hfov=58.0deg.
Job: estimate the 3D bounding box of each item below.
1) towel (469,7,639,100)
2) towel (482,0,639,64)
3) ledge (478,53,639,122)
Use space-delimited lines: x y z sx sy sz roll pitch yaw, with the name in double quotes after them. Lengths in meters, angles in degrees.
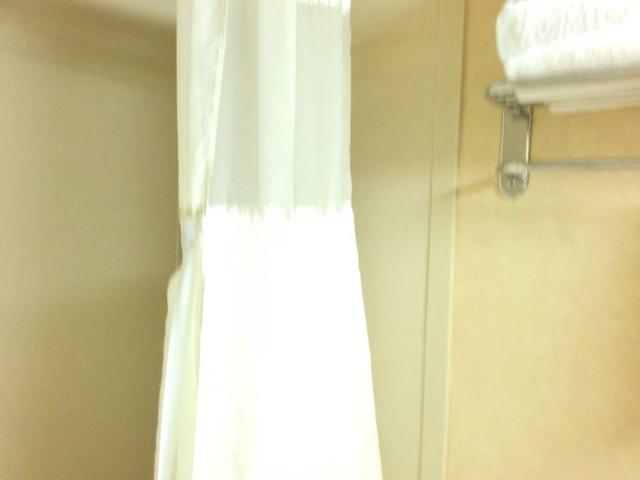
0.370 -0.270 0.850 0.280 0.090 0.070 3 2 34 "towel"
0.380 -0.330 0.830 0.280 0.110 0.040 3 2 34 "towel"
0.560 -0.230 0.840 0.590 0.040 0.240 3 2 34 "ledge"
